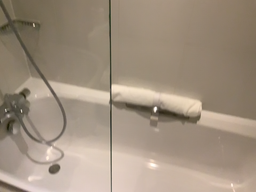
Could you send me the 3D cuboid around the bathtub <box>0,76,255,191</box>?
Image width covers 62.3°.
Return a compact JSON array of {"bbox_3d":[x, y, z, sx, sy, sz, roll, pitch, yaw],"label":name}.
[{"bbox_3d":[0.150,0.490,1.160,1.820,0.610,0.710,11,38,10],"label":"bathtub"}]
